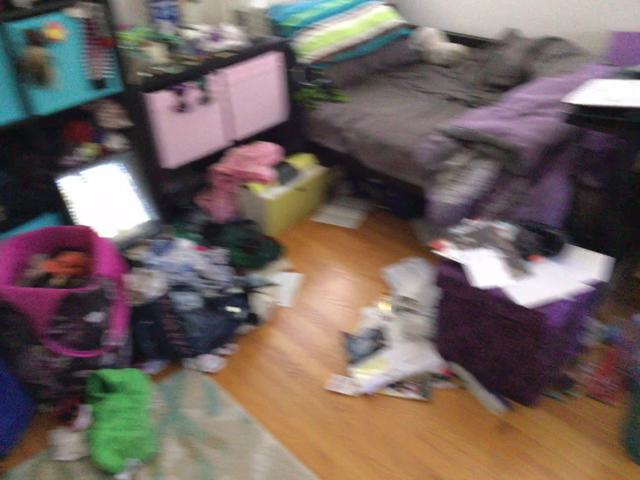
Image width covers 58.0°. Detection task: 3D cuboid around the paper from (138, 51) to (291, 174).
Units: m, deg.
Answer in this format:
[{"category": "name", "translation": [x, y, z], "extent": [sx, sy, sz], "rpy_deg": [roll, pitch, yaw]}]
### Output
[{"category": "paper", "translation": [-0.420, -0.560, 2.490], "extent": [0.690, 0.350, 0.030], "rpy_deg": [-27, 37, -33]}]

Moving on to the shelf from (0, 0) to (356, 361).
[{"category": "shelf", "translation": [-1.120, -0.550, 2.010], "extent": [2.750, 1.680, 0.640], "rpy_deg": [-27, 37, -33]}]

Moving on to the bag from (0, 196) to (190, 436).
[{"category": "bag", "translation": [-0.820, 0.220, 1.960], "extent": [0.450, 0.480, 0.540], "rpy_deg": [-28, 37, -33]}]
